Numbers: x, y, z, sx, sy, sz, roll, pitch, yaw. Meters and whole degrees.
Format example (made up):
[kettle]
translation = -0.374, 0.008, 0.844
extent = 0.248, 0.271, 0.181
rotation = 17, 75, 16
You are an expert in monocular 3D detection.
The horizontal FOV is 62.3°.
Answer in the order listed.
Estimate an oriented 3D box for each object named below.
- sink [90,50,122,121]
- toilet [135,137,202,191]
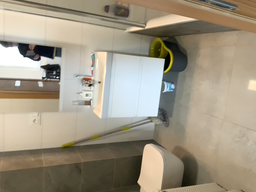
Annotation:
[sink]
translation = -0.230, -0.120, 2.080
extent = 0.380, 0.140, 0.630
rotation = 25, 111, 62
[toilet]
translation = 0.380, 0.730, 2.080
extent = 0.370, 0.450, 0.510
rotation = 25, 111, 62
